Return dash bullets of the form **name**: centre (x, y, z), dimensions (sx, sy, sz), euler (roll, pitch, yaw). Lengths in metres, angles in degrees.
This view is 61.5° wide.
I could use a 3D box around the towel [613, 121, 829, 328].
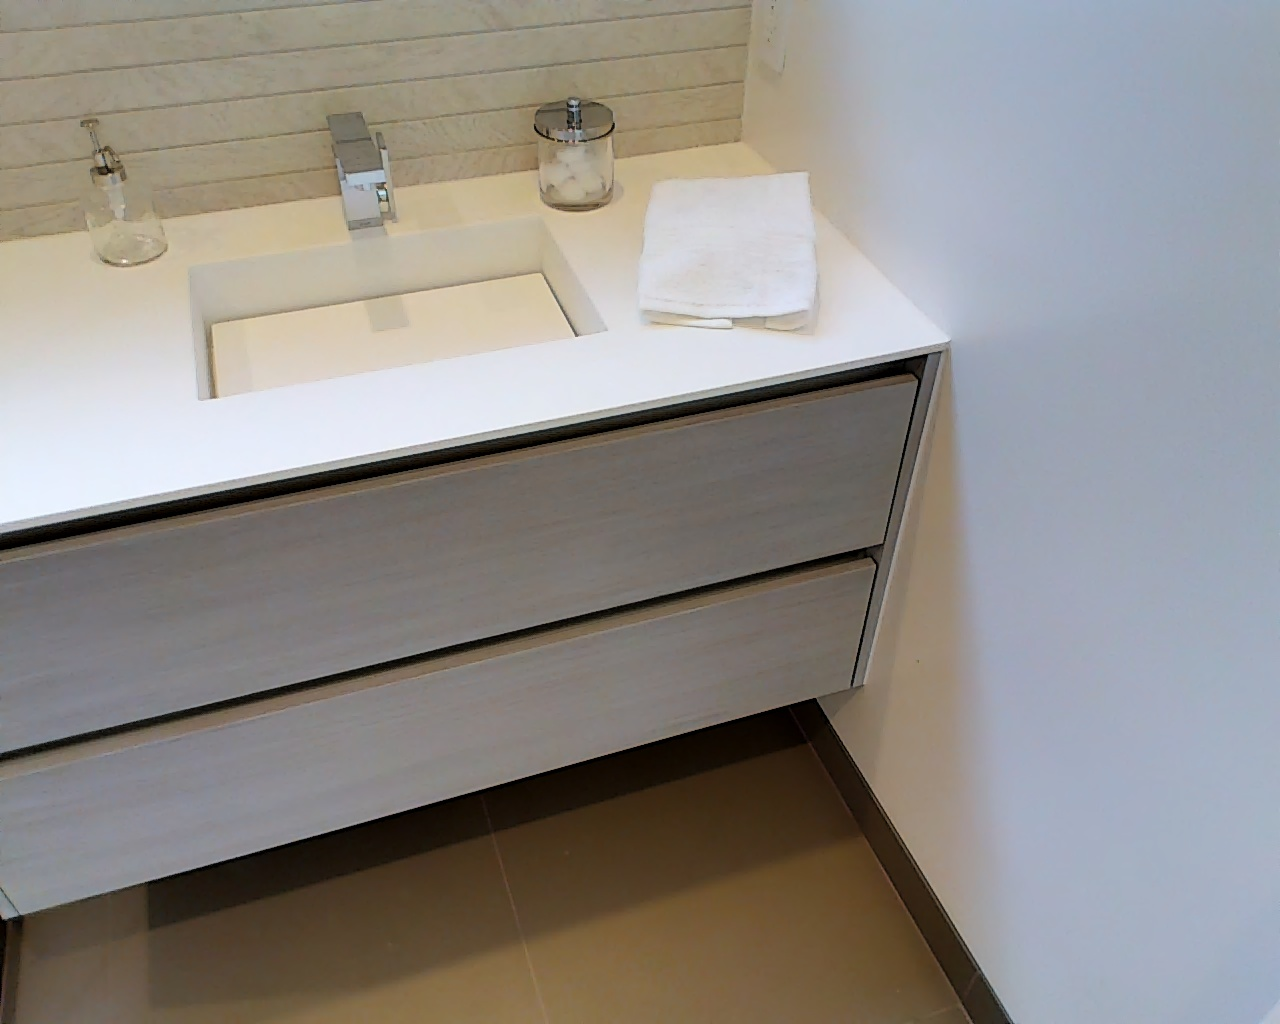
- **towel**: centre (0.100, -0.370, 1.350), dimensions (0.240, 0.100, 0.330), euler (3, 42, 2)
